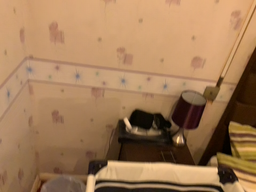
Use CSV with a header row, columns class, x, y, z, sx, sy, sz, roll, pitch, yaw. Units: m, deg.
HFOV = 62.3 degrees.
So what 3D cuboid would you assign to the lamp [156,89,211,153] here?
class,x,y,z,sx,sy,sz,roll,pitch,yaw
lamp,0.320,0.160,1.300,0.190,0.350,0.170,6,32,-8
